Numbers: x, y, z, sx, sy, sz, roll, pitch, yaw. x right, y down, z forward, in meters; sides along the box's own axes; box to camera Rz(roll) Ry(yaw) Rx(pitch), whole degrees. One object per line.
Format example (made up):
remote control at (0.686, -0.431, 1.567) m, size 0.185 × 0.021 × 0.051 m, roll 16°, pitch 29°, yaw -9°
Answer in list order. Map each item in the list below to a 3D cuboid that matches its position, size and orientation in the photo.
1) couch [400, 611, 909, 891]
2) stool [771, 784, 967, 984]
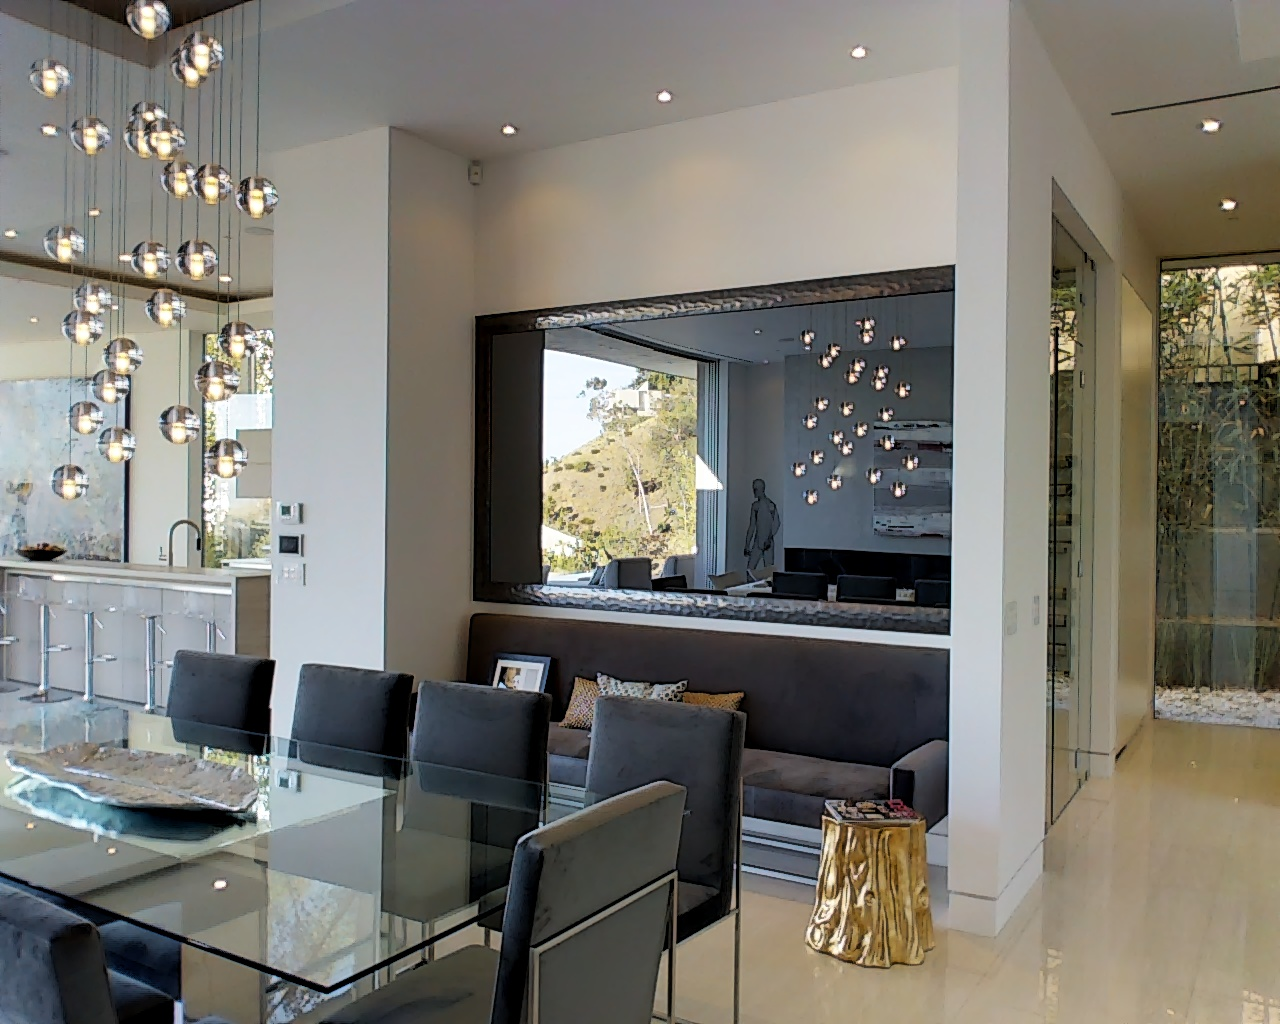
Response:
couch at (-0.010, 1.000, 5.050) m, size 2.360 × 0.890 × 0.700 m, roll 1°, pitch 0°, yaw 32°
stool at (0.820, 1.290, 3.830) m, size 0.540 × 0.470 × 0.480 m, roll 1°, pitch 0°, yaw 33°
